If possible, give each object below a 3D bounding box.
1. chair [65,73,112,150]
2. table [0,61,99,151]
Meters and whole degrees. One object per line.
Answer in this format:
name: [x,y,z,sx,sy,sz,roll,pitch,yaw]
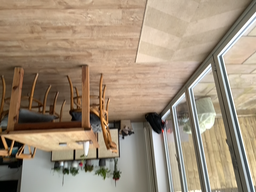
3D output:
chair: [-0.480,0.200,2.700,0.510,0.870,0.430,-3,161,-4]
table: [-0.920,0.260,2.940,0.870,0.780,1.550,-3,161,-4]
